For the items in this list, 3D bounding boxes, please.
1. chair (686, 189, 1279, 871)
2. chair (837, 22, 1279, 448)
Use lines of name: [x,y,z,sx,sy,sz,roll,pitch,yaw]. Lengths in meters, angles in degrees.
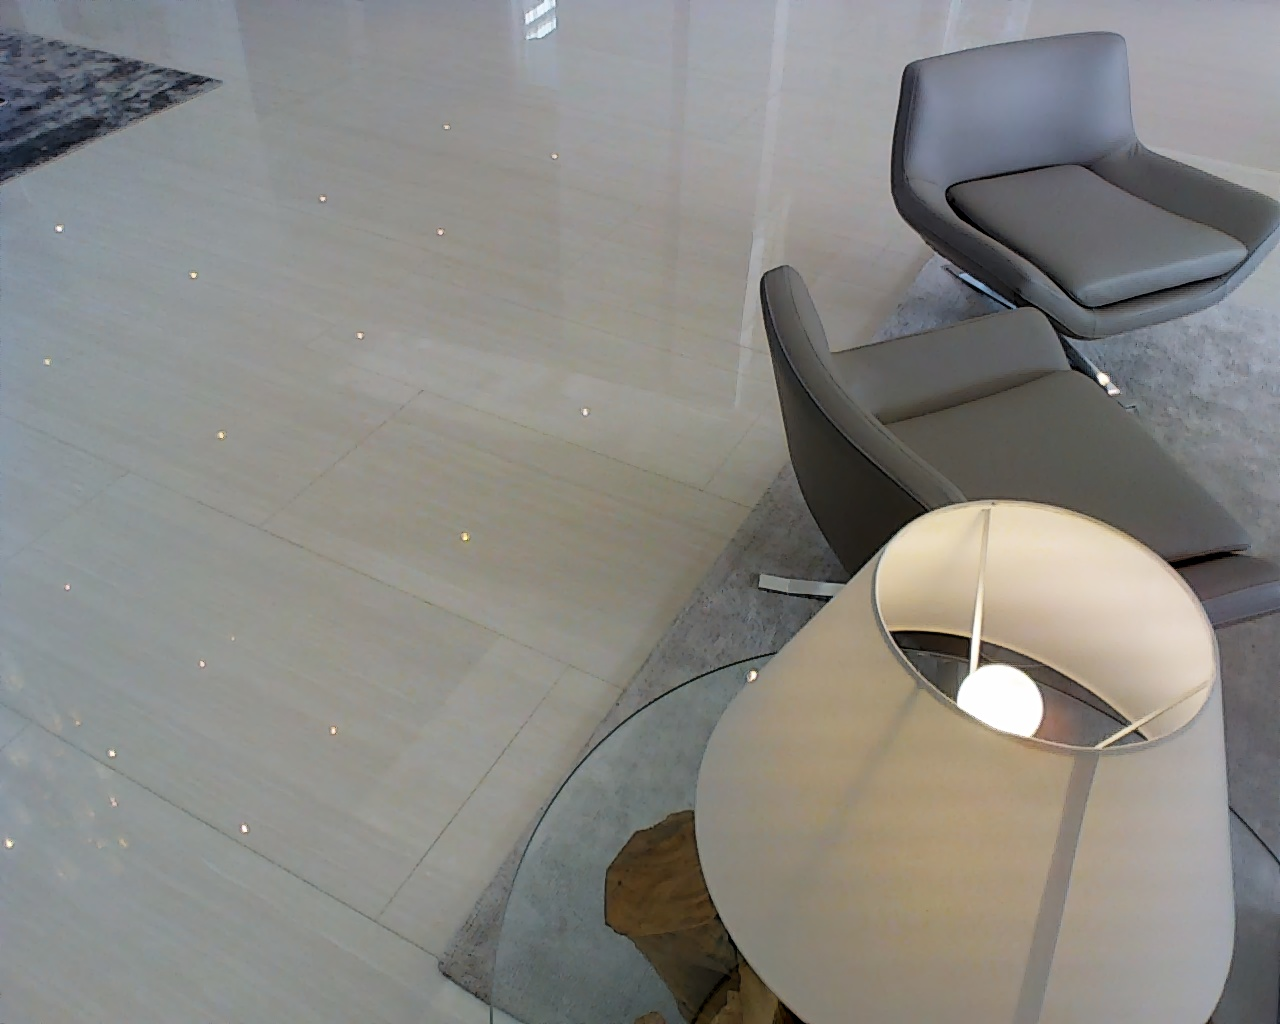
chair: [0.640,-0.020,2.000,0.840,0.710,0.900,-11,44,-13]
chair: [1.140,-0.760,2.830,0.880,0.680,0.840,-10,44,-12]
